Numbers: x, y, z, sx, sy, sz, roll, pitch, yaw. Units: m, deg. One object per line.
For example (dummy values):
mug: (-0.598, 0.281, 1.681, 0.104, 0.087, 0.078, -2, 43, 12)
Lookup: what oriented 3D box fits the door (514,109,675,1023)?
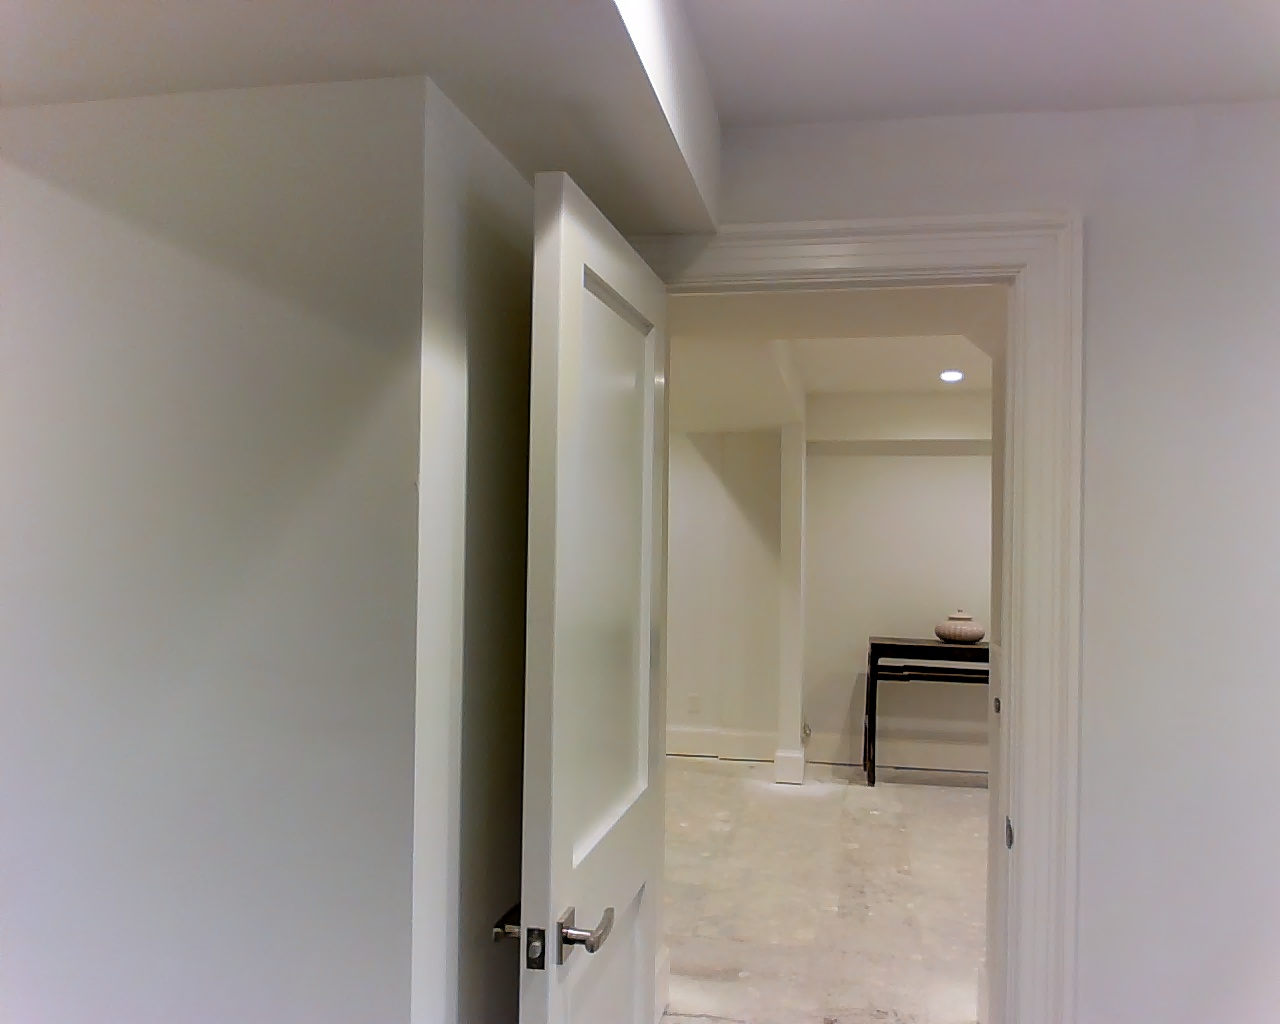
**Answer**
door: (-0.060, 0.490, 1.950, 0.080, 2.140, 0.800, 1, -1, 11)
